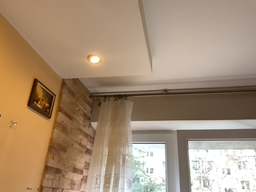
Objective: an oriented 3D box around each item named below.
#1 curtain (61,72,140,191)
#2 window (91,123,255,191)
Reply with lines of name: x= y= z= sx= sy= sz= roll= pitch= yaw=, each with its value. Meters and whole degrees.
curtain: x=-0.190 y=0.740 z=1.470 sx=0.430 sy=1.860 sz=0.340 roll=-5 pitch=-26 yaw=16
window: x=0.420 y=0.980 z=1.650 sx=1.480 sy=1.530 sz=0.190 roll=-2 pitch=-26 yaw=11
